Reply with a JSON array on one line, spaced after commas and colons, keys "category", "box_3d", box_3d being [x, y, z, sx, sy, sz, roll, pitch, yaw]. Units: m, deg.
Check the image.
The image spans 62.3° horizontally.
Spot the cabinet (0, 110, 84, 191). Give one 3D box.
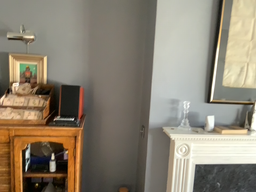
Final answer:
[{"category": "cabinet", "box_3d": [-0.790, 0.750, 1.600, 0.830, 1.200, 0.430, 2, 9, -8]}]
